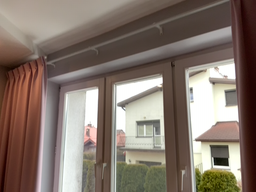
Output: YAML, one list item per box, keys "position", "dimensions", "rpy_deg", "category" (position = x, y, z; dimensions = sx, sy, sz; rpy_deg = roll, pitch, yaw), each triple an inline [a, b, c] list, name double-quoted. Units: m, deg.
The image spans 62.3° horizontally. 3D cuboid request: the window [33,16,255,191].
- position: [0.010, 0.430, 1.720]
  dimensions: [2.250, 1.470, 0.320]
  rpy_deg: [-9, -14, 37]
  category: "window"
